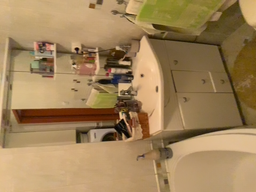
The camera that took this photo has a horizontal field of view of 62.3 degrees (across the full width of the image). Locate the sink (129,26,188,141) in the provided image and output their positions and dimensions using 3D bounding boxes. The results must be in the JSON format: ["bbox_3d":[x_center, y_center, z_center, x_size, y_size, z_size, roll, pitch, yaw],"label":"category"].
[{"bbox_3d":[0.210,-0.080,1.760,0.480,0.160,0.810,132,134,-62],"label":"sink"}]
